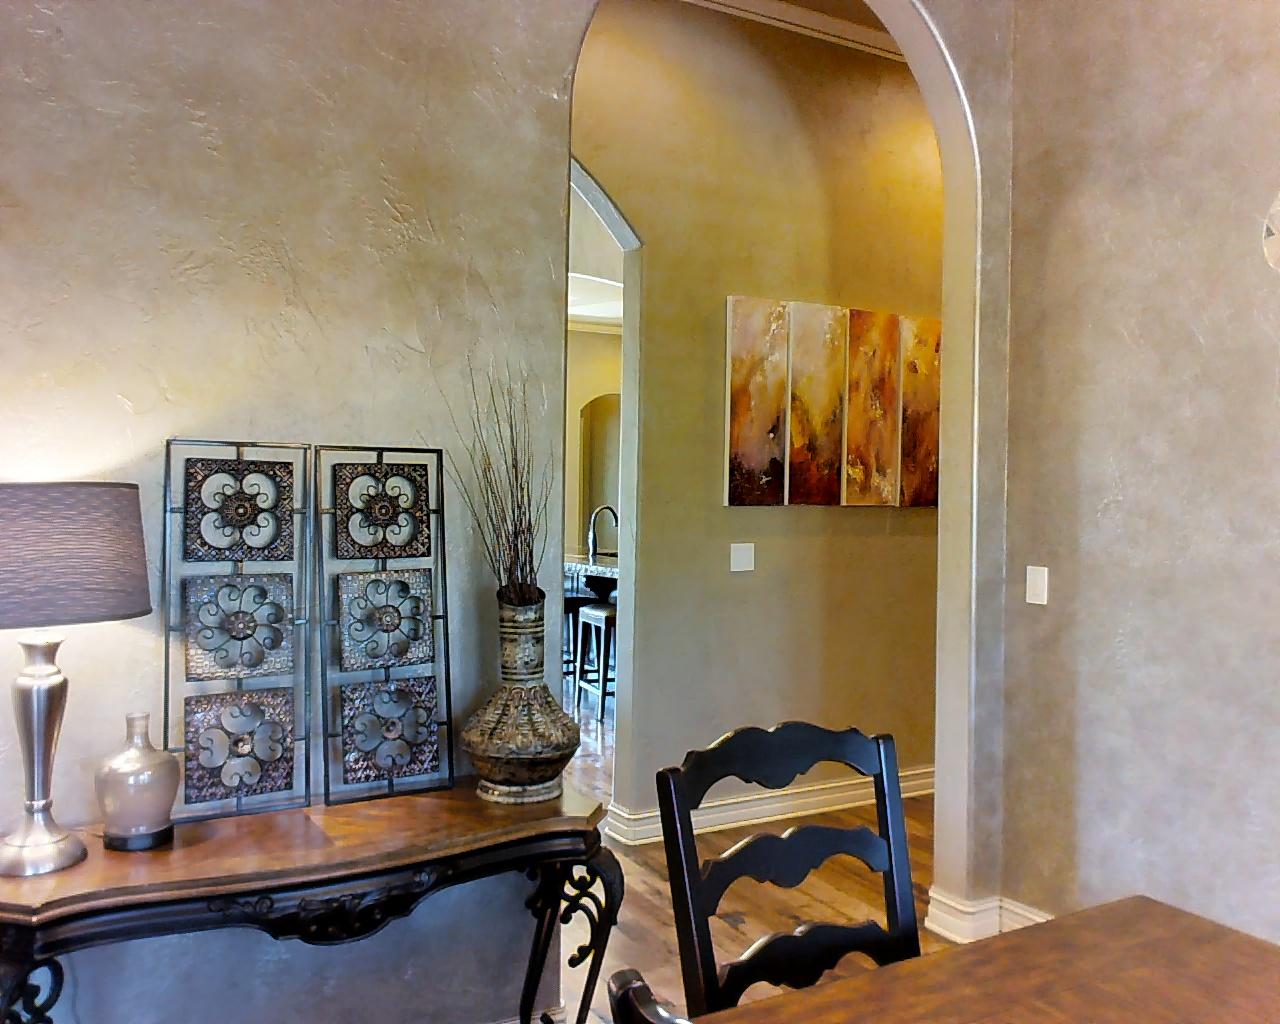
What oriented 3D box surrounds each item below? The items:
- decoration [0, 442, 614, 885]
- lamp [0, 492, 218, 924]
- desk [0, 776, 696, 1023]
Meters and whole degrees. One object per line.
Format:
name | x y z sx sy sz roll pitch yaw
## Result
decoration | -0.700 0.280 2.360 1.320 0.810 0.240 0 0 -30
lamp | -1.080 0.330 2.040 0.450 0.730 0.410 0 0 -30
desk | -0.610 1.080 2.280 1.410 0.760 0.490 0 0 -30
